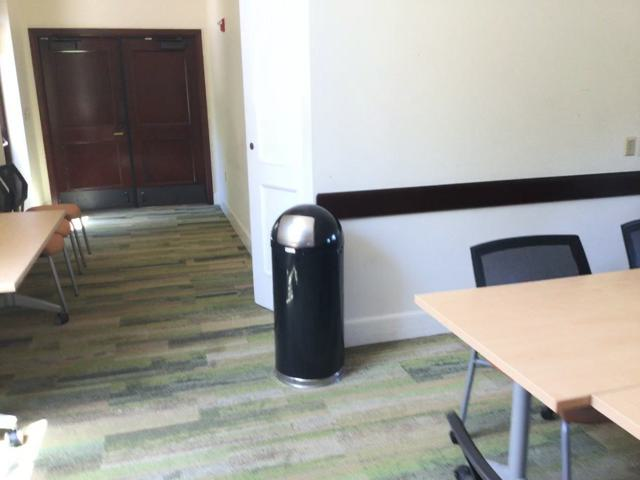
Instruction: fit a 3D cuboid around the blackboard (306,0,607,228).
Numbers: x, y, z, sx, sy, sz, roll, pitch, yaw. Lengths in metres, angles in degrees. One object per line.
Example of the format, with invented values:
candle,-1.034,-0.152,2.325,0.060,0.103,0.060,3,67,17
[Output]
blackboard,0.710,-0.700,3.000,1.530,1.140,0.250,-5,14,-15
